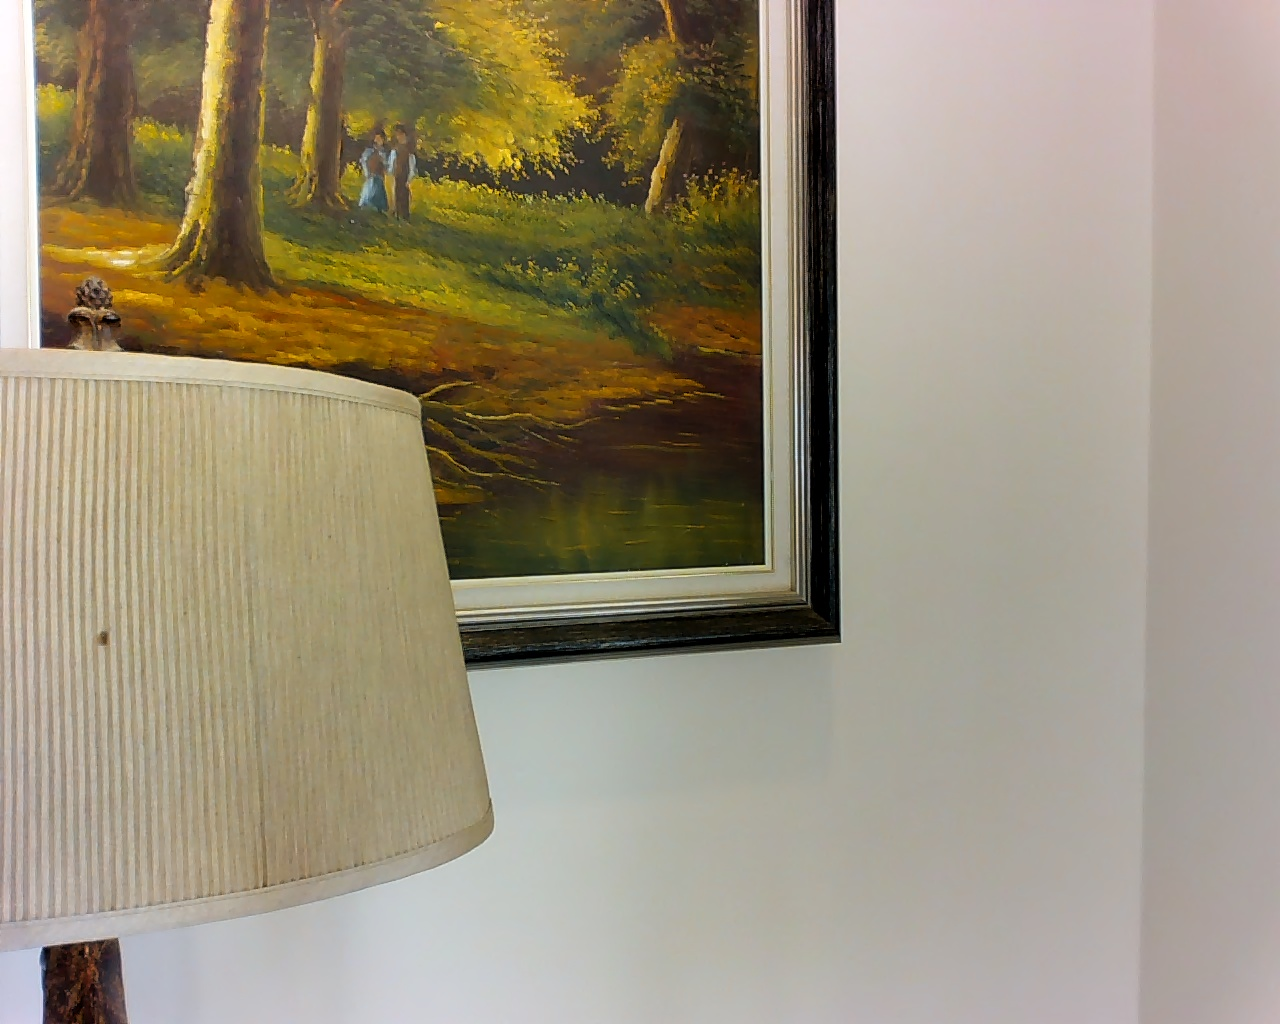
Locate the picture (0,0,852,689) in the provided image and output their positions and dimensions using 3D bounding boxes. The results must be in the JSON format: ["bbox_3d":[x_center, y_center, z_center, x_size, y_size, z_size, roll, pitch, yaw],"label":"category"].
[{"bbox_3d":[-0.170,-0.400,0.870,0.760,1.040,0.060,0,1,-22],"label":"picture"}]
